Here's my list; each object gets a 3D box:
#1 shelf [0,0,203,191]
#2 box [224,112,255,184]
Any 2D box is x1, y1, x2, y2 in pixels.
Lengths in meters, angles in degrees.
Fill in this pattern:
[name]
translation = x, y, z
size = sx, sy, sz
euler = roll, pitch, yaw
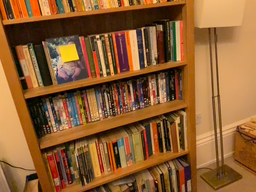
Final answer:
[shelf]
translation = -0.120, -0.110, 1.140
size = 0.960, 1.990, 0.380
euler = -14, 20, -19
[box]
translation = 1.040, 0.410, 1.750
size = 0.300, 0.410, 0.330
euler = -13, 20, -18
